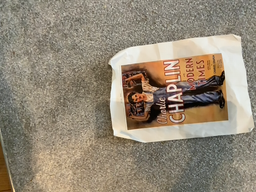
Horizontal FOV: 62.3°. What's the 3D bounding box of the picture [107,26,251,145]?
[{"bbox_3d":[0.110,-0.020,0.460,0.290,0.020,0.230,-5,93,2],"label":"picture"}]
